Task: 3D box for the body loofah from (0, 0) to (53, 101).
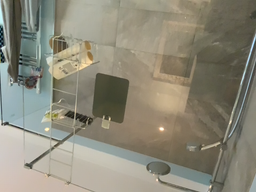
[{"bbox_3d":[-0.910,-0.730,1.750,0.470,1.460,0.280,12,-162,12],"label":"body loofah"}]
